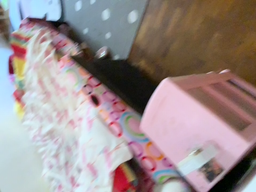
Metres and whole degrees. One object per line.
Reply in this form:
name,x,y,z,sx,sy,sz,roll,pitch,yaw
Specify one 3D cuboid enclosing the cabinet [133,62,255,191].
cabinet,0.360,0.090,0.890,0.360,0.510,0.280,44,128,30
